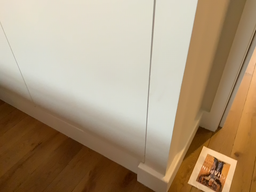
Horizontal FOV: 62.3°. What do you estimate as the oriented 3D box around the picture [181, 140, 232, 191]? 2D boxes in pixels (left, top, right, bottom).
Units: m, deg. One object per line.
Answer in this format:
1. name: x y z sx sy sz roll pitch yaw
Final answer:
1. picture: 0.480 0.420 1.280 0.220 0.001 0.310 21 45 23
